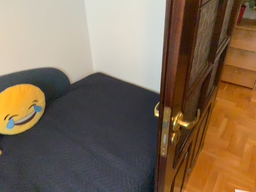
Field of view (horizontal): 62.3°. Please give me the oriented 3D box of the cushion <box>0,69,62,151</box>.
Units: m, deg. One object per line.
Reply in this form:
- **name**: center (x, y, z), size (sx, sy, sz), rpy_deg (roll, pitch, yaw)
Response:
- **cushion**: center (-0.640, 0.080, 1.330), size (0.160, 0.340, 0.360), rpy_deg (20, 42, 25)
